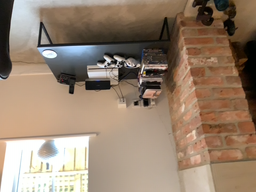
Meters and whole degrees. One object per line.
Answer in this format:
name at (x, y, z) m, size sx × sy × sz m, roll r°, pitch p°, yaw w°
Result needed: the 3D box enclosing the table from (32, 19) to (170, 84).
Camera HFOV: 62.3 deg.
table at (-0.220, -0.380, 1.970) m, size 1.050 × 0.250 × 0.640 m, roll -2°, pitch 158°, yaw -4°
